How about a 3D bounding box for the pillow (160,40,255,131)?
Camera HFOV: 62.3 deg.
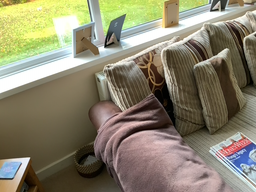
[{"bbox_3d":[0.500,-0.050,1.280,0.480,0.440,0.180,-27,72,-25],"label":"pillow"}]
